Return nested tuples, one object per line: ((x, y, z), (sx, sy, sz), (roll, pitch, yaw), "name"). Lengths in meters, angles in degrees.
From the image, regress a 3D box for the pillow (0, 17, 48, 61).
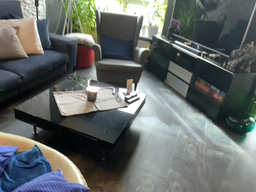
((-1.330, -0.730, 2.710), (0.210, 0.470, 0.410), (7, 27, 35), "pillow")

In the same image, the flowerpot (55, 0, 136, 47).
((-0.630, -1.650, 4.120), (1.300, 0.990, 0.740), (18, 29, 17), "flowerpot")

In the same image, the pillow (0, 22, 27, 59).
((-1.510, -0.640, 2.500), (0.440, 0.360, 0.220), (-25, 25, -32), "pillow")
